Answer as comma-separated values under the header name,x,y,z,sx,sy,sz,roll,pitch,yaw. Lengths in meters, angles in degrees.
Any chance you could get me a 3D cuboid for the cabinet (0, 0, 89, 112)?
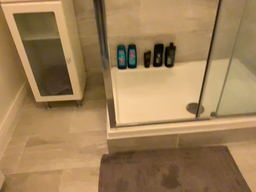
name,x,y,z,sx,sy,sz,roll,pitch,yaw
cabinet,-0.570,-0.430,1.520,0.390,1.100,0.360,-5,38,-3
